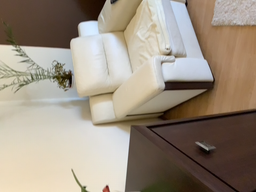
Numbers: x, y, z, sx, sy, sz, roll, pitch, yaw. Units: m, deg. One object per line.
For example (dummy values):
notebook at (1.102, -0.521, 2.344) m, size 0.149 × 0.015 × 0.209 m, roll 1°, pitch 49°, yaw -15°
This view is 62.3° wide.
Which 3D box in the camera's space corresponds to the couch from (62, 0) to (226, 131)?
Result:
couch at (0.010, -0.350, 1.920) m, size 1.020 × 0.880 × 1.010 m, roll -39°, pitch 60°, yaw 56°
